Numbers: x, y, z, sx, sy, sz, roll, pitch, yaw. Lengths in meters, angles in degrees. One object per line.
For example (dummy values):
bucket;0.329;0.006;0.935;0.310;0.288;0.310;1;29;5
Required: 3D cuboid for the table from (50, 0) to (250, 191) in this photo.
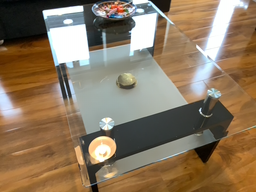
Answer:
table;-0.010;-0.110;1.050;0.530;0.420;0.870;-14;49;-15
